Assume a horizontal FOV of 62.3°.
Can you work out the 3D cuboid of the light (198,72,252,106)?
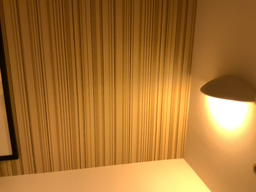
[{"bbox_3d":[0.430,-0.040,0.970,0.130,0.110,0.190,-2,-164,-10],"label":"light"}]
